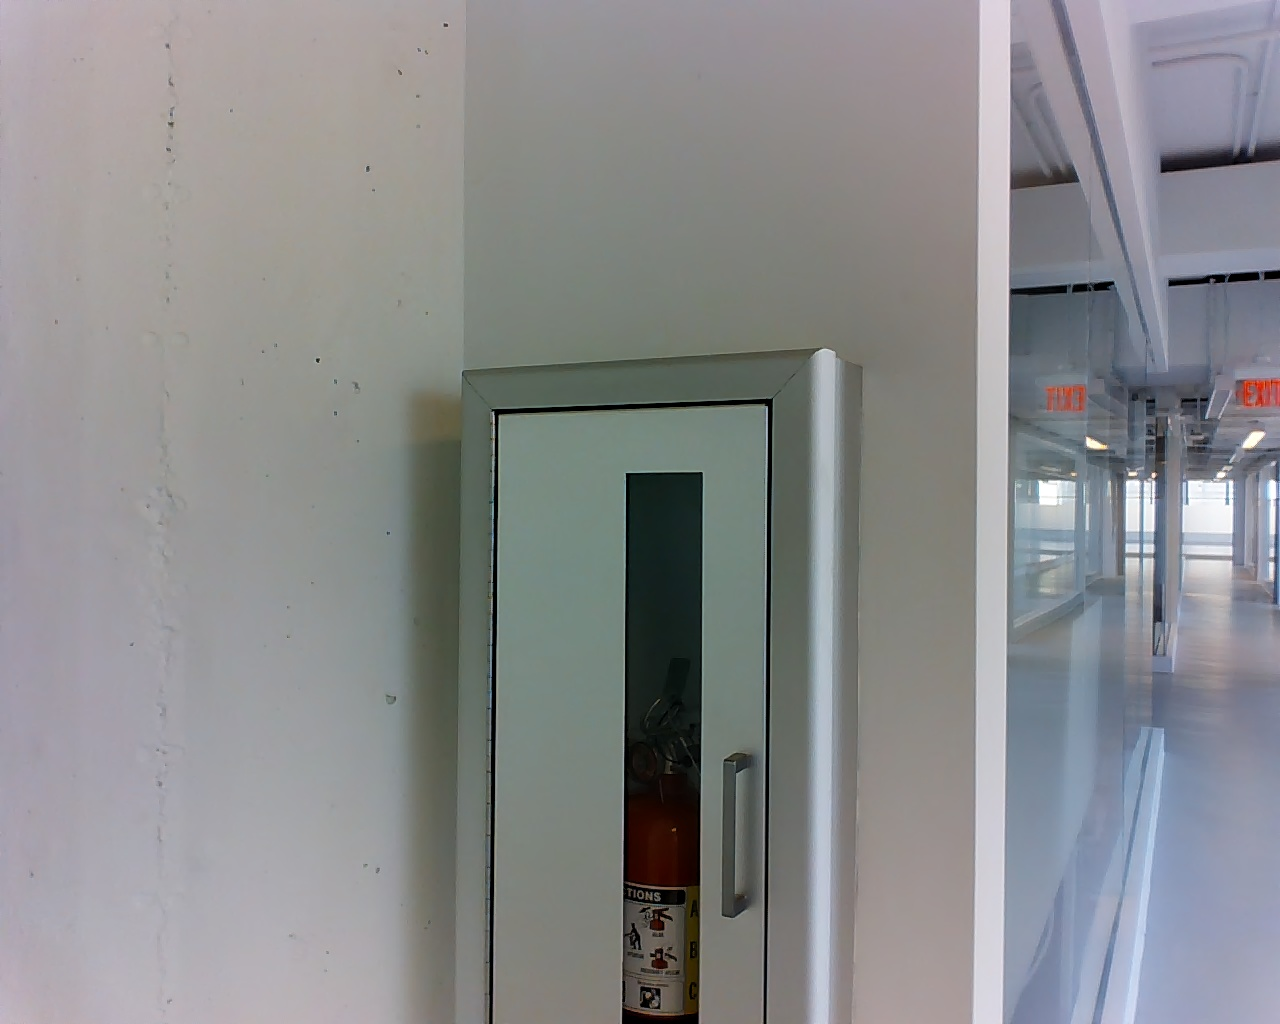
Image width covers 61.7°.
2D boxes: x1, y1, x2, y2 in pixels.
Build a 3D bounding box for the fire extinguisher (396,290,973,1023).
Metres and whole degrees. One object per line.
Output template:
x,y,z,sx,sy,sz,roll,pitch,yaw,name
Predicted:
0.020,0.270,0.840,0.440,0.830,0.110,1,0,27,fire extinguisher
